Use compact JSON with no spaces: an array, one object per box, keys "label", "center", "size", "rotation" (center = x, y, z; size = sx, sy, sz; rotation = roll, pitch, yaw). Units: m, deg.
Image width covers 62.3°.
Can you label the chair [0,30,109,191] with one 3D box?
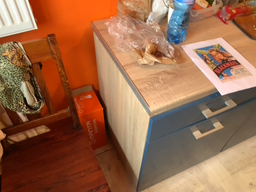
[{"label":"chair","center":[-0.380,0.280,0.980],"size":[0.430,0.920,0.520],"rotation":[-17,51,-16]}]
